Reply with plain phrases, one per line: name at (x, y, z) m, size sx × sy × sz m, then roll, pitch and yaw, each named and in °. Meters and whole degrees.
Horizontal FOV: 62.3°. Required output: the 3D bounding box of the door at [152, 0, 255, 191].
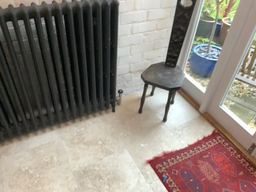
door at (0.750, -0.380, 0.980) m, size 0.080 × 2.230 × 1.780 m, roll -15°, pitch 45°, yaw -21°
